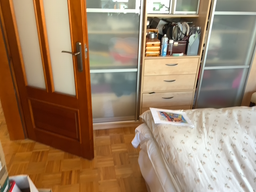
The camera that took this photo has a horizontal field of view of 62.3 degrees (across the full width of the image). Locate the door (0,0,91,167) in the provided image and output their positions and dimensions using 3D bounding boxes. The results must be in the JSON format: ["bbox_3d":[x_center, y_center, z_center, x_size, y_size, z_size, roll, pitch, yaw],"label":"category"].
[{"bbox_3d":[-0.720,-0.340,1.830,0.750,2.100,0.120,12,28,21],"label":"door"}]
